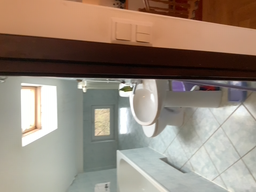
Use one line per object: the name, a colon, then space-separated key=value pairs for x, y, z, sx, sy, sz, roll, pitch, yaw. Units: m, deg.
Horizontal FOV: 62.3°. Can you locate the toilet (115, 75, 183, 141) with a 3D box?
toilet: x=0.250 y=0.120 z=2.570 sx=0.370 sy=0.730 sz=0.710 roll=-175 pitch=84 yaw=-68
